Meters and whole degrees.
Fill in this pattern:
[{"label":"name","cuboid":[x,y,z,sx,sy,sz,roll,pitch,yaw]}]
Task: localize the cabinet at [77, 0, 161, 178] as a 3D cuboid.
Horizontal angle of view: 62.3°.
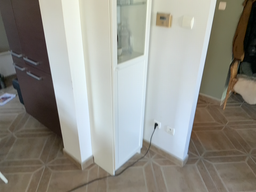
[{"label":"cabinet","cuboid":[-0.050,-0.460,1.580,0.300,2.400,0.520,24,36,36]}]
